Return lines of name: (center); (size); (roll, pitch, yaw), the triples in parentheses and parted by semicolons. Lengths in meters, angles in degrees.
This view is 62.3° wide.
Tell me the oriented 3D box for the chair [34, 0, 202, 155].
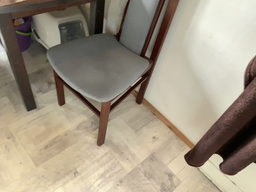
chair: (-0.080, -0.240, 1.090); (0.550, 1.020, 0.440); (-30, 62, -32)
